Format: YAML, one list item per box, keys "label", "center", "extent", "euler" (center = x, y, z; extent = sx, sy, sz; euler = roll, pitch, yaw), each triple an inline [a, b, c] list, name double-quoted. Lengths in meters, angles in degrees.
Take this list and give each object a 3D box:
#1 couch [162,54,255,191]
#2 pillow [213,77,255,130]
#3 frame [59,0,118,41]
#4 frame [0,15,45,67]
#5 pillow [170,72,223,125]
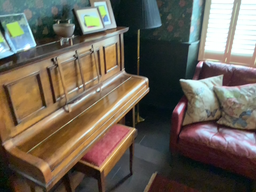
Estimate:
- label: "couch"
  center: [1.520, 0.330, 1.750]
  extent: [2.230, 0.880, 0.900]
  euler: [13, 31, 25]
- label: "pillow"
  center: [1.040, 0.060, 1.930]
  extent: [0.420, 0.290, 0.360]
  euler: [11, 30, 22]
- label: "frame"
  center: [-0.330, -0.710, 1.930]
  extent: [0.260, 0.280, 0.510]
  euler: [11, 30, 22]
- label: "frame"
  center: [-0.740, -0.360, 1.330]
  extent: [0.250, 0.240, 0.280]
  euler: [14, 31, 27]
- label: "pillow"
  center: [0.670, 0.000, 2.060]
  extent: [0.400, 0.300, 0.420]
  euler: [11, 30, 22]
